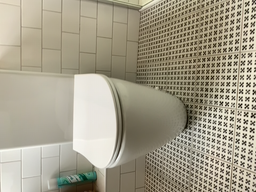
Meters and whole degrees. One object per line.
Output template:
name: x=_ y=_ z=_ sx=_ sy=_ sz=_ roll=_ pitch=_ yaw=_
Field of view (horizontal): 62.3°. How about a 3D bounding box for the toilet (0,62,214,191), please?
toilet: x=-0.160 y=0.080 z=0.950 sx=0.610 sy=0.810 sz=0.380 roll=10 pitch=99 yaw=62
